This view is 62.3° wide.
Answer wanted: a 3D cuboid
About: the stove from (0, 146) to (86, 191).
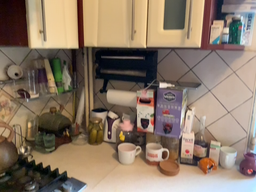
[{"bbox_3d":[-0.550,0.390,0.810,0.490,0.040,0.620,8,15,26],"label":"stove"}]
